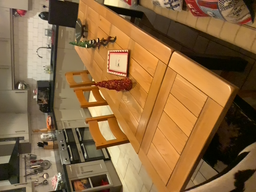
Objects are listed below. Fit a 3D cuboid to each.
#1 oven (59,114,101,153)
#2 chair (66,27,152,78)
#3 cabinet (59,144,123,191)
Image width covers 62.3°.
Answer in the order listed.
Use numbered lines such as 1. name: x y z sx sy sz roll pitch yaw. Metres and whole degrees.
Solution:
1. oven: -1.090 0.820 4.760 0.500 0.760 0.630 54 136 48
2. chair: -0.270 -0.570 2.880 0.440 1.010 0.490 51 134 50
3. cabinet: -0.710 1.430 3.890 0.730 0.900 0.630 54 136 48
